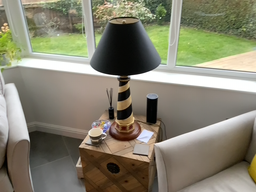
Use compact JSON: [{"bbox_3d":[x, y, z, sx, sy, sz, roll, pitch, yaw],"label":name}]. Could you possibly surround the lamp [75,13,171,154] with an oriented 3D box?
[{"bbox_3d":[0.000,-0.100,1.440,0.440,0.790,0.450,9,31,15],"label":"lamp"}]
